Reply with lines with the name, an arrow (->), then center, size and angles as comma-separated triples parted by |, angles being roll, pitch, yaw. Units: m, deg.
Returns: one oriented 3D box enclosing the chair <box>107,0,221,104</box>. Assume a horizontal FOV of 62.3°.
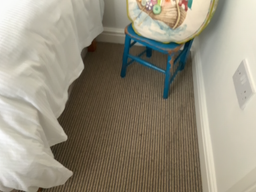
chair -> 0.190, -0.390, 1.170 | 0.380, 0.630, 0.480 | 33, 56, 21
